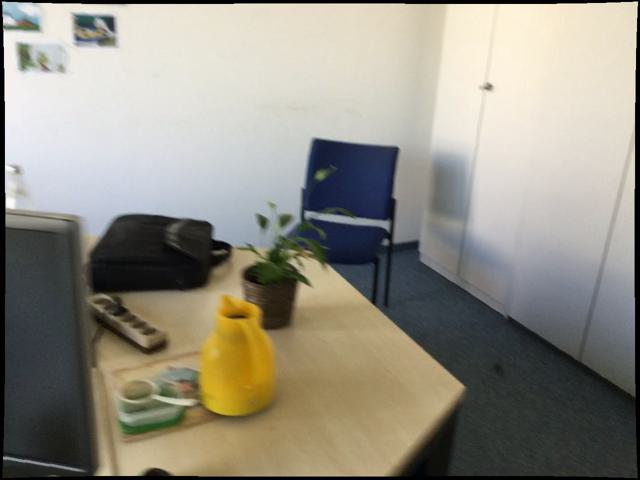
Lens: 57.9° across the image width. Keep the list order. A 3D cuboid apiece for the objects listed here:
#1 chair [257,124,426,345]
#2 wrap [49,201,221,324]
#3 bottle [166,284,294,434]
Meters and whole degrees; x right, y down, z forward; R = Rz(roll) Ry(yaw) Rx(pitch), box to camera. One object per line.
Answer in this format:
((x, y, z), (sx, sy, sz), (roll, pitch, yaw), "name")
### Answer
((0.120, -0.070, 2.720), (0.579, 0.781, 0.680), (8, 23, 17), "chair")
((-0.539, 0.040, 1.660), (0.410, 0.140, 0.430), (-8, 24, -21), "wrap")
((-0.160, 0.220, 1.120), (0.190, 0.180, 0.220), (3, 22, 5), "bottle")
